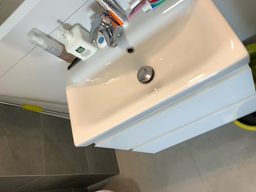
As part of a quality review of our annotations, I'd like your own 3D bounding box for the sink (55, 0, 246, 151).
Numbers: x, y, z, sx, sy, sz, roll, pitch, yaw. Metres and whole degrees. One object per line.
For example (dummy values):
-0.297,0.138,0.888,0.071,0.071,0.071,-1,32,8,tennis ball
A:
0.020,-0.090,0.770,0.610,0.150,0.360,-30,60,22,sink
